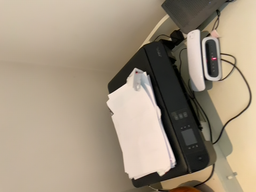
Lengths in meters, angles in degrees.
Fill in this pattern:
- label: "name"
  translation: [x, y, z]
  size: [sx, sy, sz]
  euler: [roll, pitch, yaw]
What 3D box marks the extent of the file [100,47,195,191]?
- label: "file"
  translation: [0.030, 0.090, 0.750]
  size: [0.290, 0.040, 0.430]
  euler: [-44, 55, 44]
